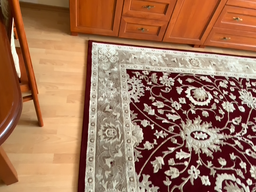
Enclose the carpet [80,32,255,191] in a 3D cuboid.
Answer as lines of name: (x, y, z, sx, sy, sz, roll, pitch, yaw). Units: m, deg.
carpet: (1.160, 0.310, 1.690, 2.950, 0.060, 2.040, 5, 51, -10)
